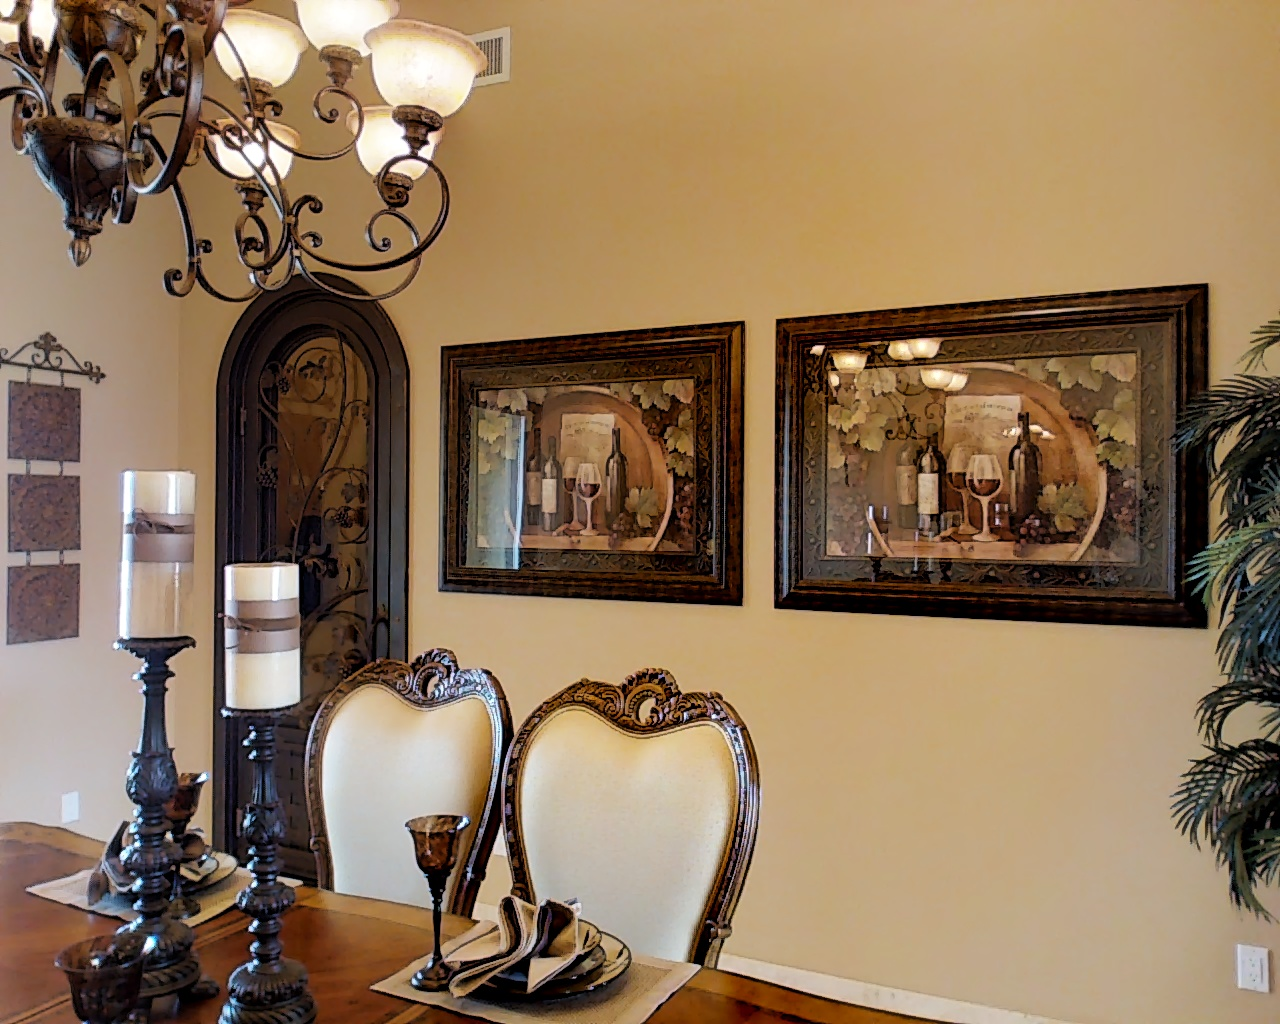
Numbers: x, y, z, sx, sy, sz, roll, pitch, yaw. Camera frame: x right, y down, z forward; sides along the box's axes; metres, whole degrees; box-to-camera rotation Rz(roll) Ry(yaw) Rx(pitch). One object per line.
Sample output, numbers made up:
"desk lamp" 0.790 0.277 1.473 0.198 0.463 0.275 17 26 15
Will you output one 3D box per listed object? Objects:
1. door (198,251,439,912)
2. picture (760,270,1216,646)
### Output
"door" -1.350 0.260 4.390 1.200 2.530 0.080 1 0 27
"picture" 0.980 -0.150 3.180 1.290 1.010 0.050 1 0 27
